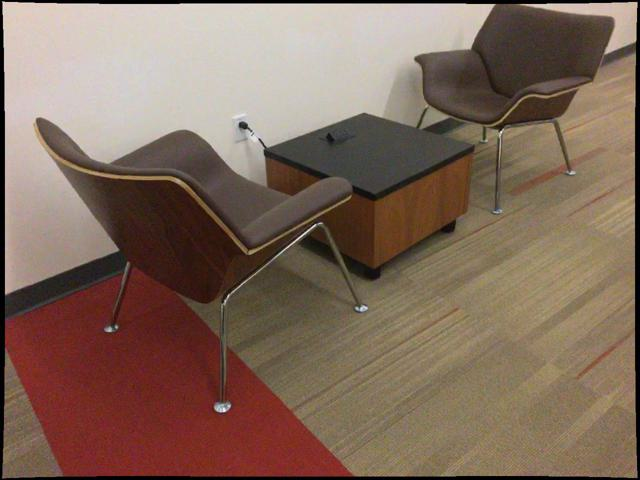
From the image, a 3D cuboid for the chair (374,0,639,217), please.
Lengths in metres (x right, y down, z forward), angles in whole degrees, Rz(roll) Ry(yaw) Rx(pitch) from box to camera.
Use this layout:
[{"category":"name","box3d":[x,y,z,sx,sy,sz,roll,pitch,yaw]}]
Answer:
[{"category":"chair","box3d":[0.908,-0.772,2.980,0.879,0.781,0.900,-22,36,-27]}]

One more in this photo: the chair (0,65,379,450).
[{"category":"chair","box3d":[-0.389,-0.040,1.900,0.889,0.761,0.739,26,42,38]}]
